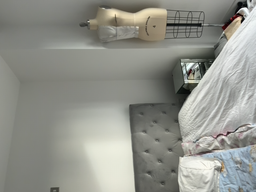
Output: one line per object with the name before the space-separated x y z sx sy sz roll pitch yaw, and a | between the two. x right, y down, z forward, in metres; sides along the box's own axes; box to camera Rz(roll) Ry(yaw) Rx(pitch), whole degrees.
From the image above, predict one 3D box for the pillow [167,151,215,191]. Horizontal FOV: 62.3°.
pillow | 0.570 0.920 1.880 0.530 0.200 0.740 102 165 -65
